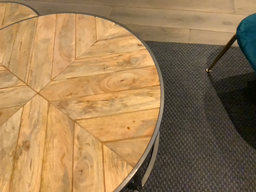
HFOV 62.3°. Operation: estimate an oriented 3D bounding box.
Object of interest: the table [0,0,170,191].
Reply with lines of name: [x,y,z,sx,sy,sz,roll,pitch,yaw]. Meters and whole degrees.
table: [-0.810,-0.020,0.990,1.910,0.350,1.060,5,58,8]
